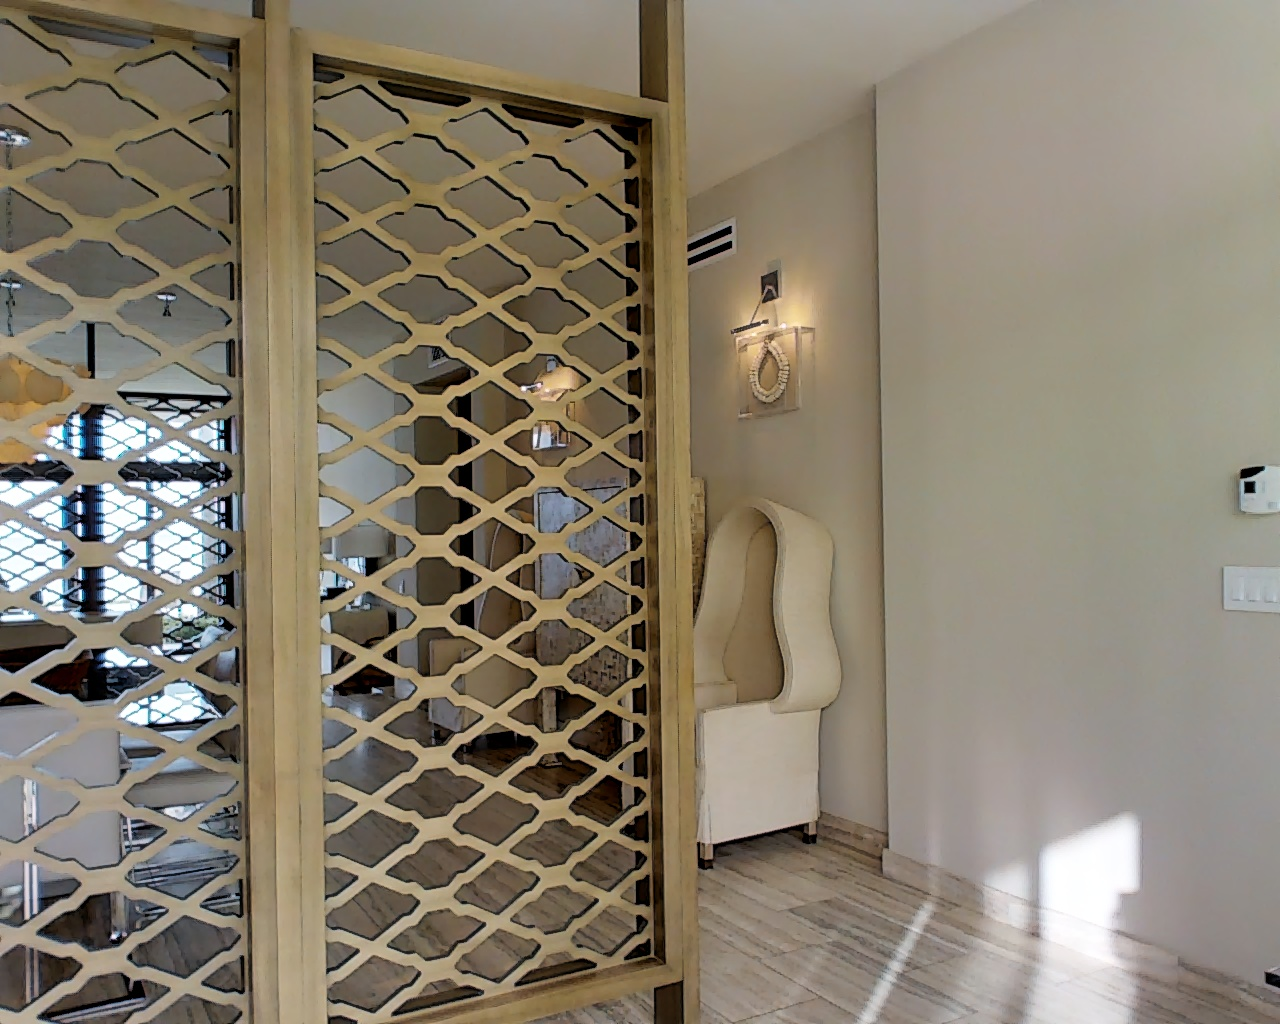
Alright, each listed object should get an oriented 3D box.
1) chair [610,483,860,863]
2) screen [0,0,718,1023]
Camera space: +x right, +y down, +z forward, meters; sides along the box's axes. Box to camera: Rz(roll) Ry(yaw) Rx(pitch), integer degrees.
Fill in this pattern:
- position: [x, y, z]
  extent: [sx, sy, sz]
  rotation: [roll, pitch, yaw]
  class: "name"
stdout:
- position: [0.400, 0.630, 4.730]
  extent: [0.750, 1.480, 0.790]
  rotation: [-1, -1, -30]
  class: "chair"
- position: [-1.280, -0.140, 2.170]
  extent: [3.280, 3.040, 0.150]
  rotation: [-1, -1, -30]
  class: "screen"
